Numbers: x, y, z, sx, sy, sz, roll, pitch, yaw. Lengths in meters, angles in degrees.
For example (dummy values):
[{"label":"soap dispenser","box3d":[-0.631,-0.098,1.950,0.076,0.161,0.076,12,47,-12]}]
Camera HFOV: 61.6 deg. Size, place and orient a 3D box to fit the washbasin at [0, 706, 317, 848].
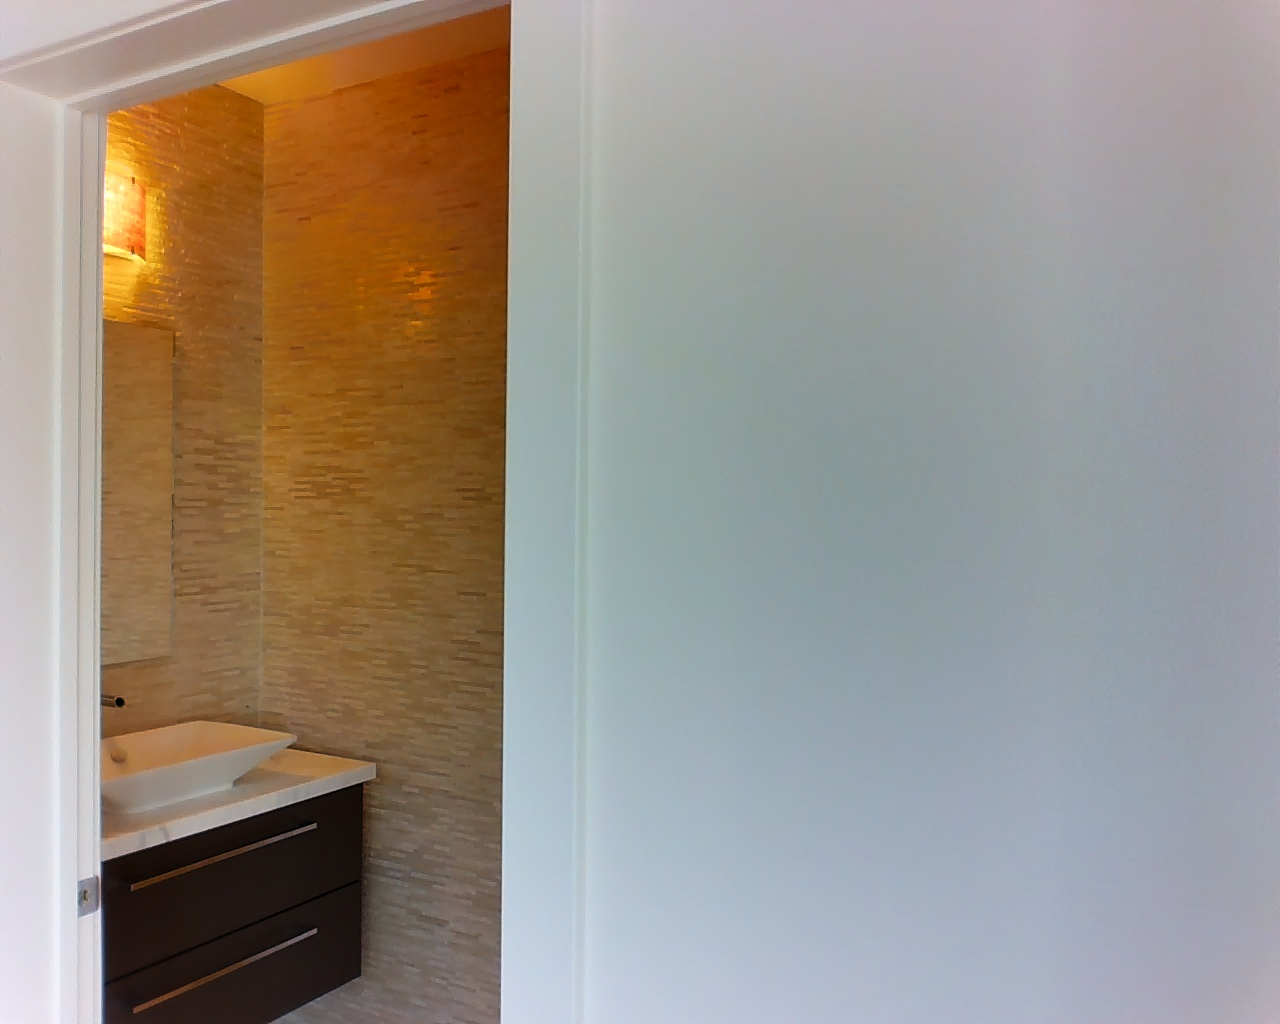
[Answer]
[{"label":"washbasin","box3d":[-1.170,0.610,2.570,0.490,0.150,0.580,1,0,29]}]
